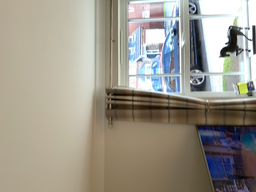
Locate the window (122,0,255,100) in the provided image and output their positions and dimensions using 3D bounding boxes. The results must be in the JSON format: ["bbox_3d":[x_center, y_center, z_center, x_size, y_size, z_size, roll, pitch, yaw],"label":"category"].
[{"bbox_3d":[0.650,-0.580,2.460,0.310,1.410,1.220,62,-152,-80],"label":"window"}]
